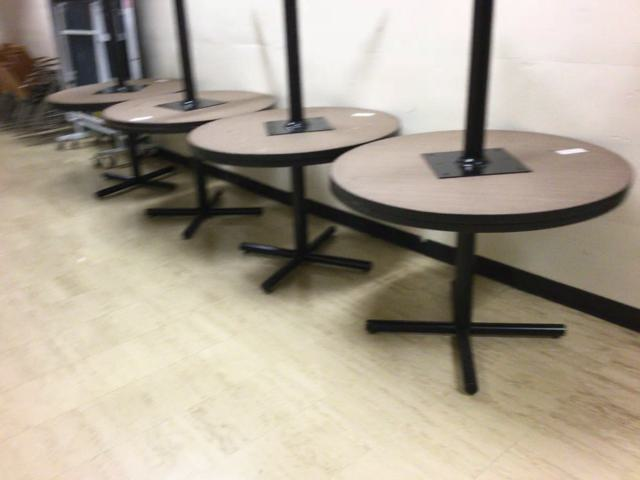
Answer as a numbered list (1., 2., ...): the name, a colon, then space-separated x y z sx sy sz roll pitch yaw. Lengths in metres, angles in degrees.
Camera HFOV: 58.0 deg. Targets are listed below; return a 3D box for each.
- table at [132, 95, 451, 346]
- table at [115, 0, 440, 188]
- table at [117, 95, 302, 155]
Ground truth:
1. table: -0.140 -0.230 3.020 1.110 0.770 1.160 -23 28 -34
2. table: -0.200 -0.840 2.710 0.990 0.760 1.100 -23 28 -34
3. table: -0.610 -0.670 3.250 0.870 0.100 0.530 -23 28 -34
